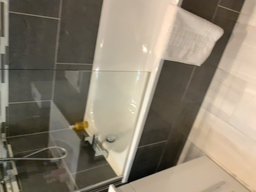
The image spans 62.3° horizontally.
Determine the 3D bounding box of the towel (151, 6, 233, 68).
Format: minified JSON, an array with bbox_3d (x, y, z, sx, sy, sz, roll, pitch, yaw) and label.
[{"bbox_3d":[0.360,-0.300,1.160,0.090,0.460,0.270,40,125,44],"label":"towel"}]
